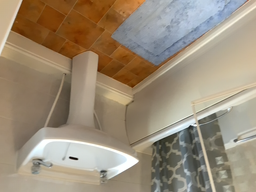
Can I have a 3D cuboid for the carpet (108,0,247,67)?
[{"bbox_3d":[0.290,-0.500,1.380,0.430,0.040,0.800,26,137,-36],"label":"carpet"}]
